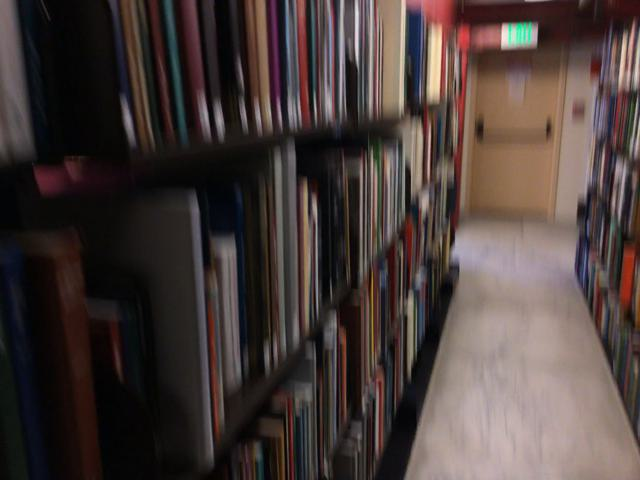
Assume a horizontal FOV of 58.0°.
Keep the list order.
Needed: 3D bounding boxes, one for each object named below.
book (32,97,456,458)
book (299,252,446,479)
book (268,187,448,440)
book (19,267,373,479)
[{"bbox_3d":[0.130,-0.210,1.960,0.340,0.510,2.420,7,15,18],"label":"book"},{"bbox_3d":[0.290,0.490,2.250,0.140,0.480,1.710,7,15,18],"label":"book"},{"bbox_3d":[0.260,0.120,2.290,0.240,0.410,1.720,7,15,18],"label":"book"},{"bbox_3d":[-0.130,0.390,1.150,0.240,0.430,0.880,7,15,18],"label":"book"}]
